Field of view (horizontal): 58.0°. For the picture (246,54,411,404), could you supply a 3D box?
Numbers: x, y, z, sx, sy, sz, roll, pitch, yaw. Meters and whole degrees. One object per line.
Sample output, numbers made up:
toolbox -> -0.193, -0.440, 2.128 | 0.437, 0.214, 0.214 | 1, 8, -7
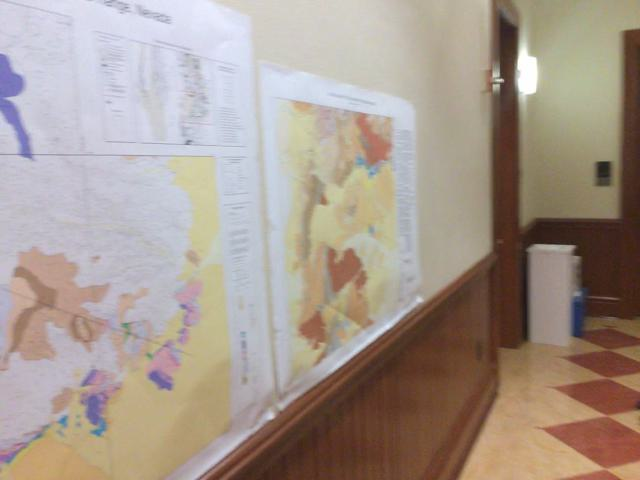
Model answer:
picture -> 0.090, -0.060, 1.710 | 0.050, 0.760, 1.000 | 2, 6, 26
